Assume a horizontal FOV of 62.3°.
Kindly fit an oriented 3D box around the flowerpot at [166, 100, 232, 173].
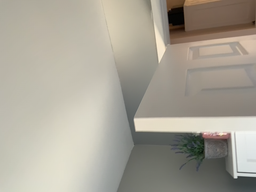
[{"bbox_3d":[0.360,0.210,1.110,0.330,0.270,0.310,36,-126,-68],"label":"flowerpot"}]
